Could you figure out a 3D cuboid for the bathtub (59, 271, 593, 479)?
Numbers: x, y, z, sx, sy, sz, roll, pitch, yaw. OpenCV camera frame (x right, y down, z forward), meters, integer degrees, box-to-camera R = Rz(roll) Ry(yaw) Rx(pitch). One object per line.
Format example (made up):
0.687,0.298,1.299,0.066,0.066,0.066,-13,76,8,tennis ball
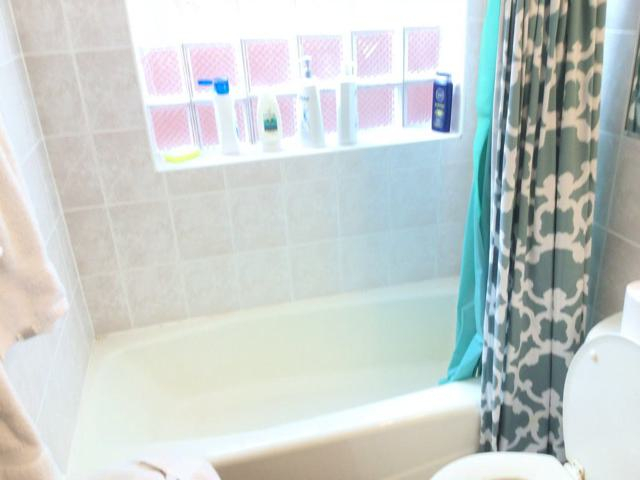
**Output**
-0.010,0.540,1.920,1.450,0.360,0.780,-8,25,-12,bathtub
